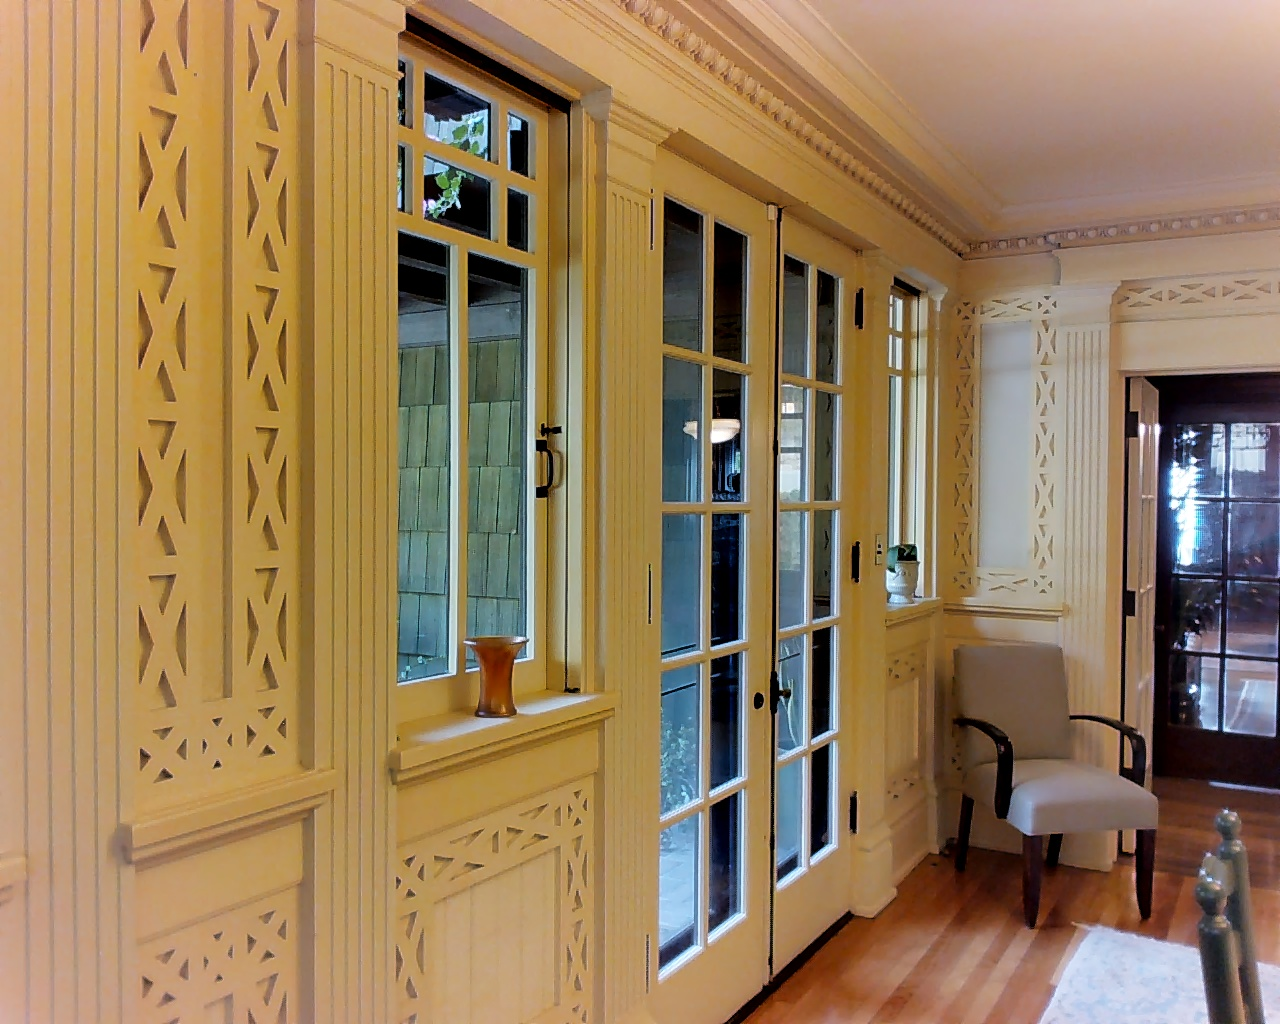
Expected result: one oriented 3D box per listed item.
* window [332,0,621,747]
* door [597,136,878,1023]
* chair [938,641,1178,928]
[{"bbox_3d":[-0.310,-0.250,2.230,0.210,1.320,0.660,1,1,31],"label":"window"},{"bbox_3d":[0.380,0.280,3.350,0.180,2.410,1.550,1,1,31],"label":"door"},{"bbox_3d":[1.610,1.020,4.240,0.580,0.920,0.720,0,1,-10],"label":"chair"}]
